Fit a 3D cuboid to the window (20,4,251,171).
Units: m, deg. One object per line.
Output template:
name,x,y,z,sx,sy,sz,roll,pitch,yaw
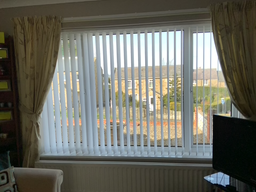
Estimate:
window,0.060,-0.040,2.470,2.490,1.790,0.180,-1,6,5
